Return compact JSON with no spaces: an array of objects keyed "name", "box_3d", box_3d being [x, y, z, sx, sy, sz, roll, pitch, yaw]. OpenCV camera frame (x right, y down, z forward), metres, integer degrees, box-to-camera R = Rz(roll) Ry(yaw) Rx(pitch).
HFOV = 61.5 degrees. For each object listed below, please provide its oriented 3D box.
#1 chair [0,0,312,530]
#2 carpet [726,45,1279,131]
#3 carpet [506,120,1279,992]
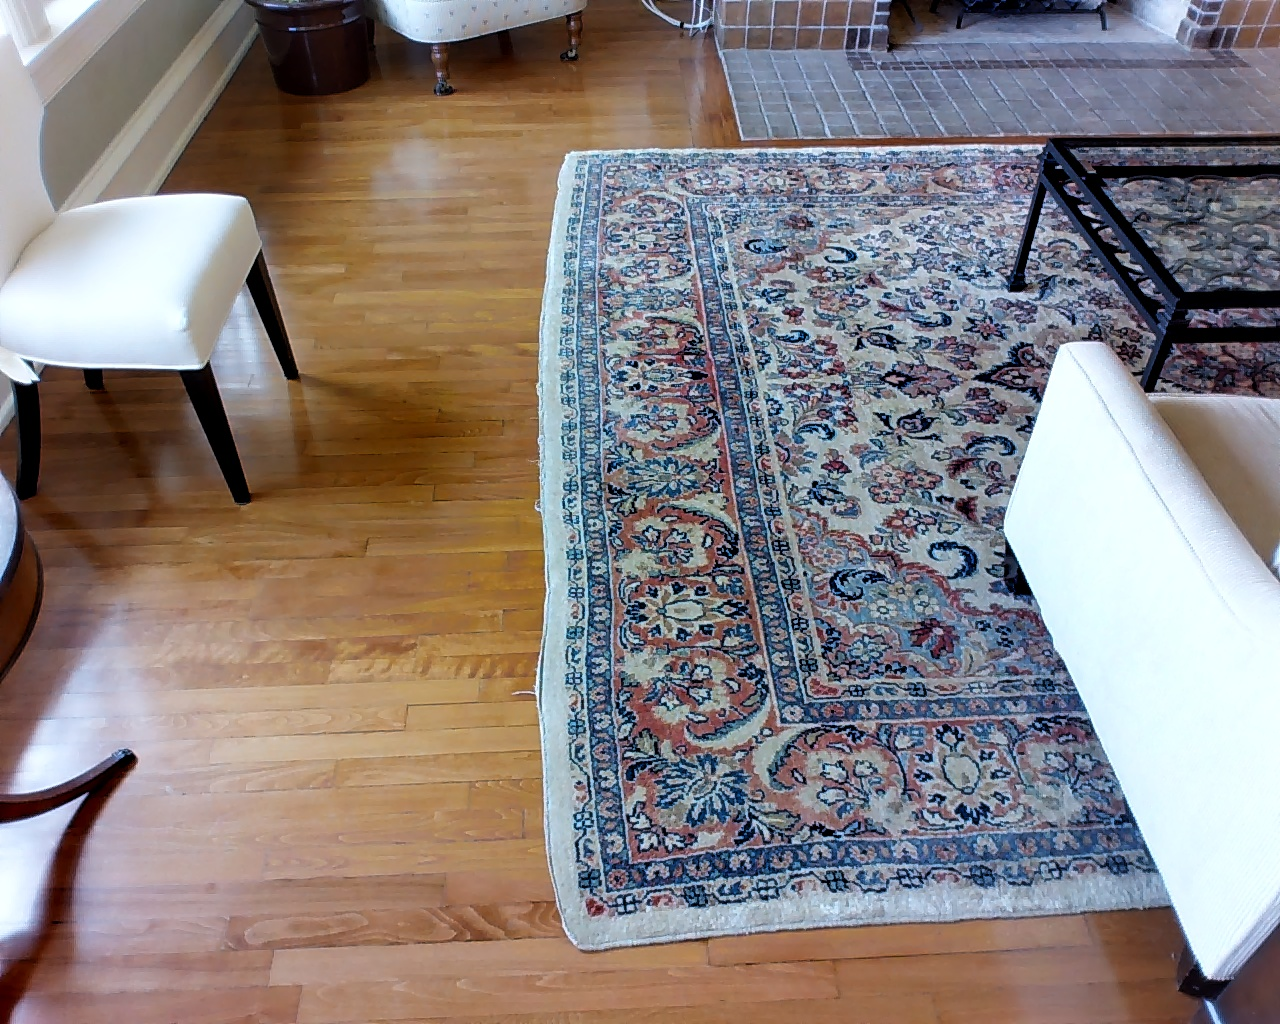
[{"name":"chair","box_3d":[-1.170,-0.550,2.300,0.630,0.900,0.740,-2,43,-3]},{"name":"carpet","box_3d":[1.680,-1.650,4.150,2.630,0.040,0.690,-2,42,-2]},{"name":"carpet","box_3d":[1.810,-0.370,2.760,4.190,0.070,2.930,-2,43,-3]}]
